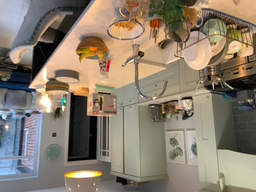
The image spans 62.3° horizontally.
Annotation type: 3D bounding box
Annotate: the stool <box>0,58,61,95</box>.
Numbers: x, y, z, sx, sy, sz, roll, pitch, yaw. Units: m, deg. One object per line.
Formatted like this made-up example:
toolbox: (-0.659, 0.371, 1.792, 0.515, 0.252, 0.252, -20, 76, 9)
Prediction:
stool: (-2.140, -0.370, 4.300, 1.370, 0.490, 0.590, 6, 167, -32)
